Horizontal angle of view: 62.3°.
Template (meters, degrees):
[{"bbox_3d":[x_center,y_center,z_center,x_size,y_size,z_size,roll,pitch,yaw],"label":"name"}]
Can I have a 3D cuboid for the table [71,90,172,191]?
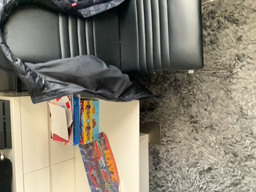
[{"bbox_3d":[-0.040,0.560,1.440,0.550,0.370,1.180,0,93,38],"label":"table"}]
